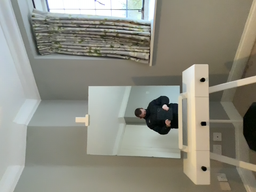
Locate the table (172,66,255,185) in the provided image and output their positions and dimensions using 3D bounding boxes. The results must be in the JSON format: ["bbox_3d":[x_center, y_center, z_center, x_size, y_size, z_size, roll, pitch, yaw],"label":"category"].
[{"bbox_3d":[0.850,0.230,1.940,0.620,0.750,0.910,89,-179,-88],"label":"table"}]
